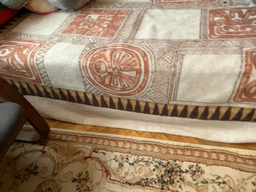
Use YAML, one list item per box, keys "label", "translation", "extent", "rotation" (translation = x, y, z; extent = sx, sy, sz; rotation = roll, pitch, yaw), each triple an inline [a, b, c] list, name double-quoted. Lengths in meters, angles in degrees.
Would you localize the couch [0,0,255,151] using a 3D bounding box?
- label: "couch"
  translation: [0.030, -0.400, 1.160]
  extent: [2.040, 0.720, 0.940]
  rotation: [6, 47, 14]
